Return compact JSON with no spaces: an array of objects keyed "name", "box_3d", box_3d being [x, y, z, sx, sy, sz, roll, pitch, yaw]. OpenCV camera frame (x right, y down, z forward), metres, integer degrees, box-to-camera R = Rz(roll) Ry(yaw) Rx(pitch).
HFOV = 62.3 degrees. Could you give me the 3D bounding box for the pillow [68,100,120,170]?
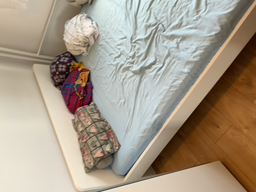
[{"name":"pillow","box_3d":[-0.300,0.300,1.760,0.210,0.170,0.550,-57,48,29]}]
